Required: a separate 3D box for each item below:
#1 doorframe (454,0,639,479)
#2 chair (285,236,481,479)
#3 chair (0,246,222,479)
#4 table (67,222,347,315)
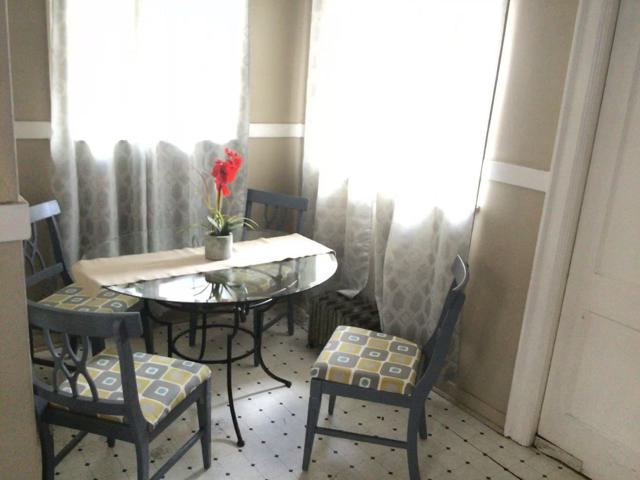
[{"bbox_3d":[1.100,-0.040,2.060,0.180,2.110,1.110,-8,19,-37],"label":"doorframe"},{"bbox_3d":[0.270,0.490,2.370,0.630,0.830,0.560,8,16,15],"label":"chair"},{"bbox_3d":[-0.720,0.530,2.040,0.520,0.840,0.570,8,16,15],"label":"chair"},{"bbox_3d":[-0.470,0.090,2.640,1.180,0.150,0.420,-8,19,-37],"label":"table"}]
